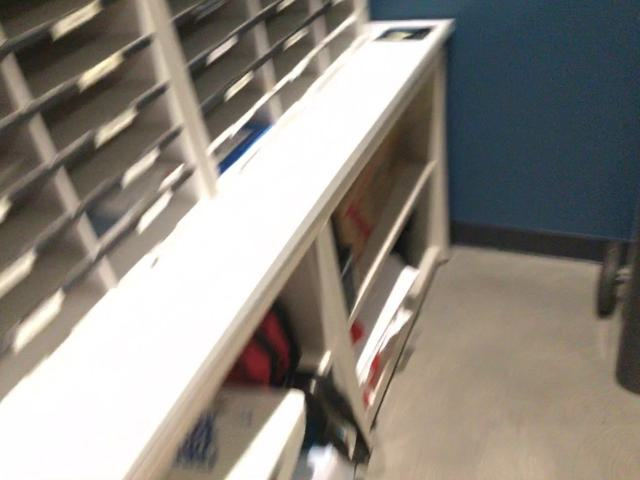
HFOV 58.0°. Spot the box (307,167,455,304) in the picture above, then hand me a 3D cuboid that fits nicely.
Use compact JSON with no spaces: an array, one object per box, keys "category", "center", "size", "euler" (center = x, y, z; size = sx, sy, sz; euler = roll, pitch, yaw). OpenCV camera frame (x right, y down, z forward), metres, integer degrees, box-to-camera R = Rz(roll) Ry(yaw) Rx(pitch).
[{"category":"box","center":[0.150,-0.020,1.310],"size":[0.260,0.180,0.240],"euler":[6,40,23]}]
